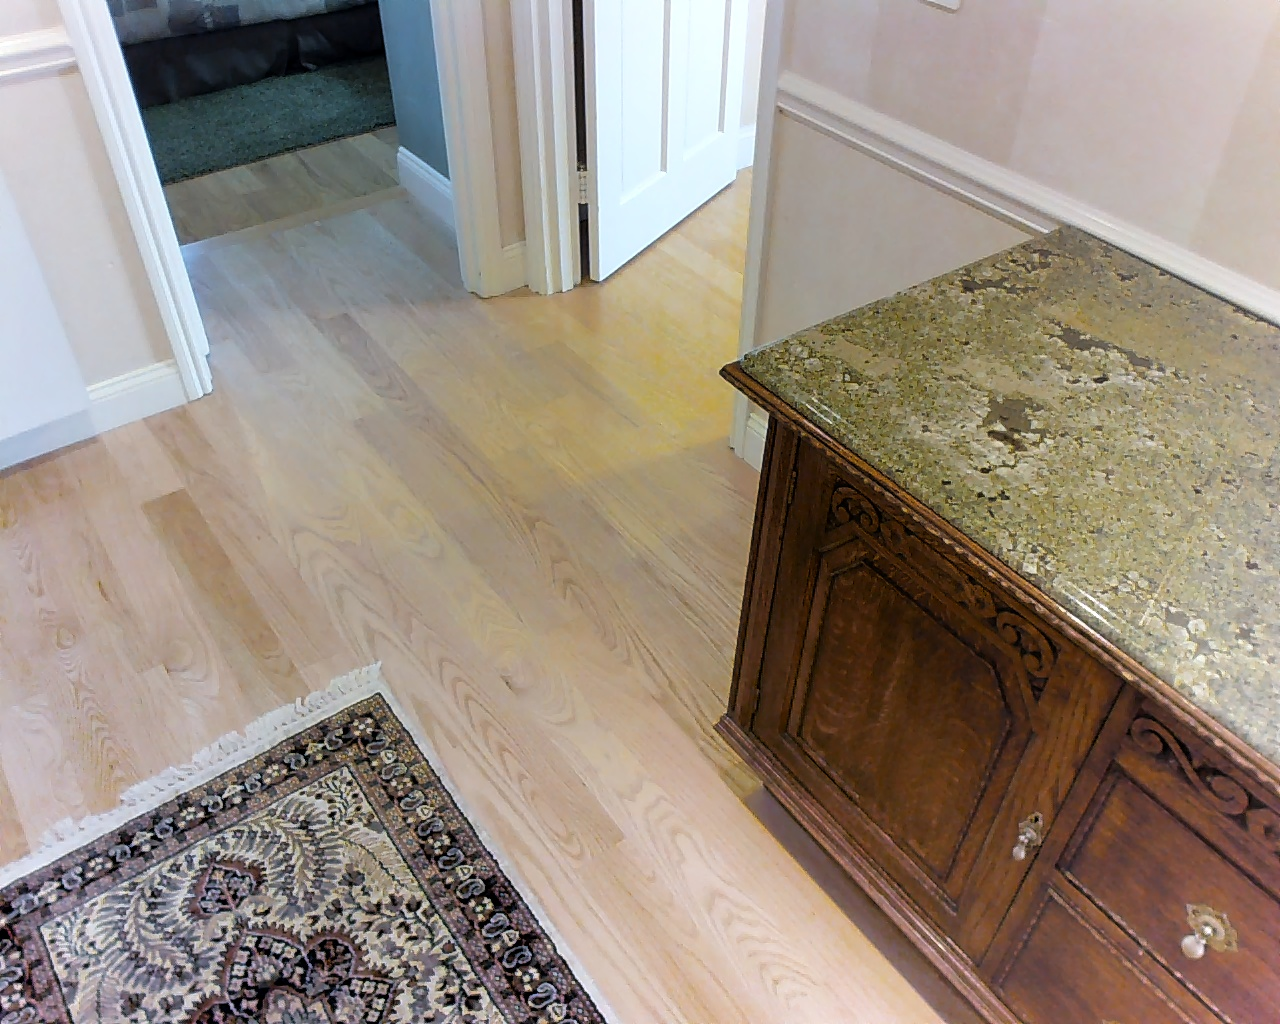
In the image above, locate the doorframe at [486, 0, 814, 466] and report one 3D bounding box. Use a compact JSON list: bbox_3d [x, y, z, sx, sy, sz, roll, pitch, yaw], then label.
[{"bbox_3d":[-0.030,-1.150,2.180,0.140,2.020,0.970,-25,48,-26],"label":"doorframe"}]
